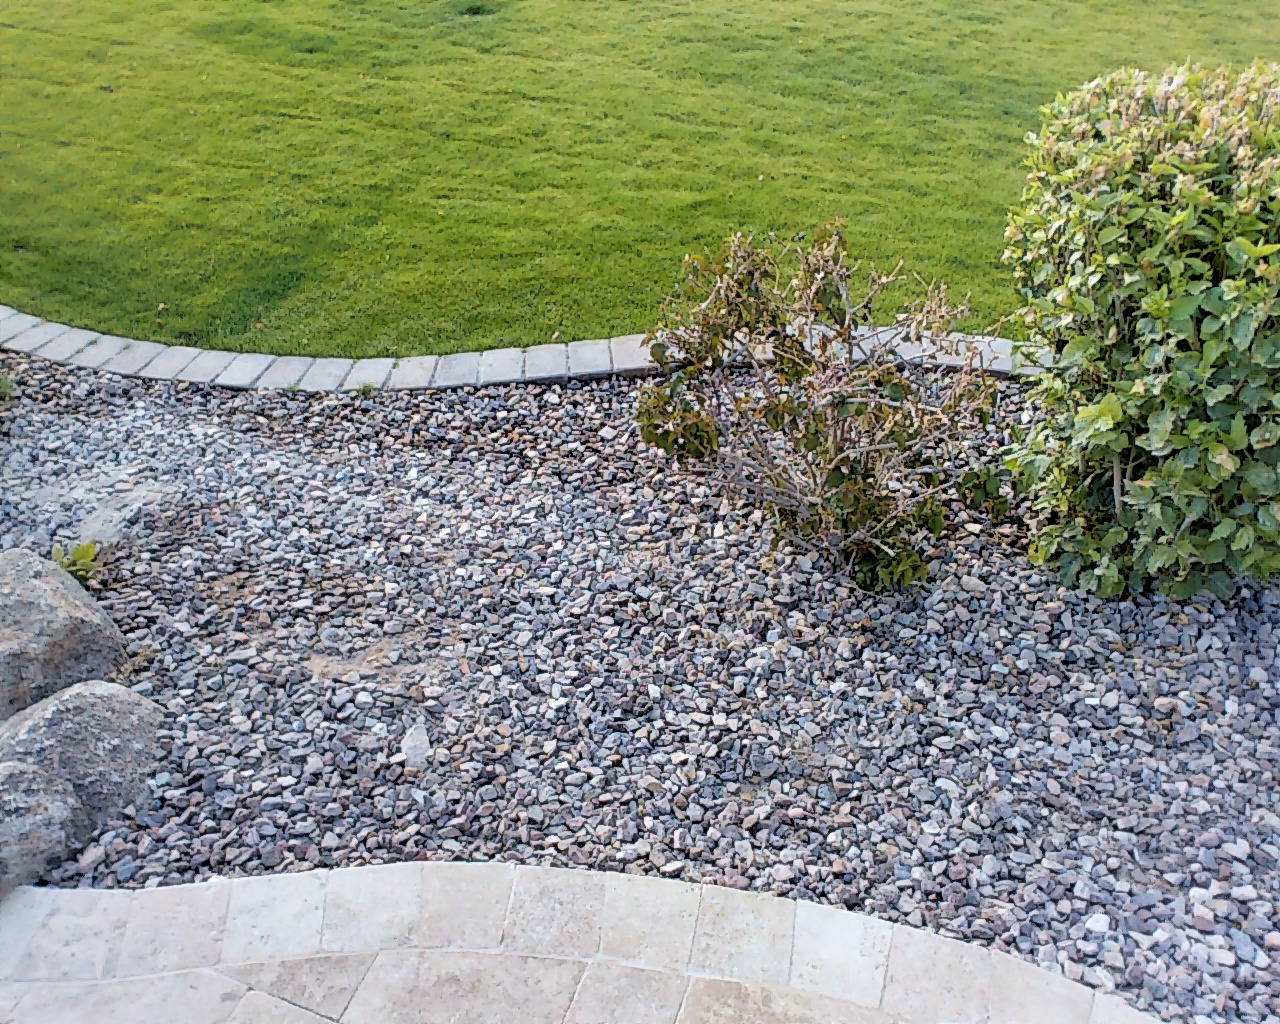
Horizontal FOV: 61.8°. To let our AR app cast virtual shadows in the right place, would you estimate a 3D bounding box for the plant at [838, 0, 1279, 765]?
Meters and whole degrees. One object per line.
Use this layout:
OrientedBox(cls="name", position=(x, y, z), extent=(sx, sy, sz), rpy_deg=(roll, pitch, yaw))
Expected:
OrientedBox(cls="plant", position=(1.321, -0.390, 2.360), extent=(1.020, 1.070, 1.250), rpy_deg=(-30, 50, -29))
